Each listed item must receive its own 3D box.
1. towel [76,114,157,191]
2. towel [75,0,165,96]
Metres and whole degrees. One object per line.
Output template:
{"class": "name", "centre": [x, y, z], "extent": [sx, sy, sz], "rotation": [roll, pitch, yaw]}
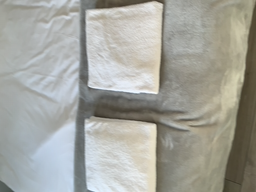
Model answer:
{"class": "towel", "centre": [-0.070, 0.290, 0.930], "extent": [0.410, 0.050, 0.370], "rotation": [4, 97, 36]}
{"class": "towel", "centre": [-0.060, -0.200, 0.870], "extent": [0.420, 0.040, 0.350], "rotation": [9, 100, 36]}
